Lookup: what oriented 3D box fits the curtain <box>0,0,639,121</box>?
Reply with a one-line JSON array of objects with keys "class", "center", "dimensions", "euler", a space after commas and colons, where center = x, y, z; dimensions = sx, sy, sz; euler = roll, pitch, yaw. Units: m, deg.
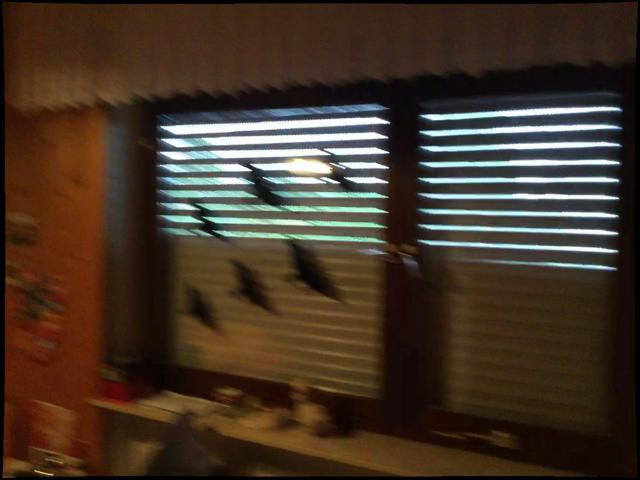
[{"class": "curtain", "center": [-0.080, -0.751, 1.750], "dimensions": [2.818, 0.581, 0.250], "euler": [2, 2, 27]}]
